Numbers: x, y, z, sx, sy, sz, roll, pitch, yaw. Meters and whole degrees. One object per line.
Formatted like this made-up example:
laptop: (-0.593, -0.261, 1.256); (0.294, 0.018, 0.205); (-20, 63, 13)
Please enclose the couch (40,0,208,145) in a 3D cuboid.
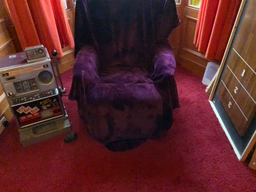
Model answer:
couch: (-0.010, -0.300, 1.750); (0.850, 1.010, 0.930); (-1, 37, 1)
